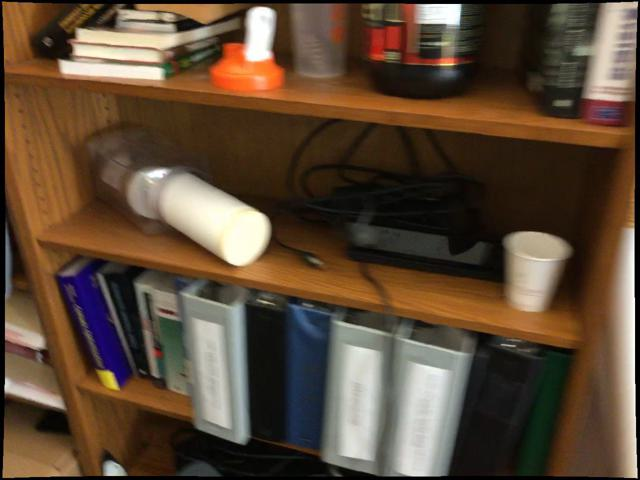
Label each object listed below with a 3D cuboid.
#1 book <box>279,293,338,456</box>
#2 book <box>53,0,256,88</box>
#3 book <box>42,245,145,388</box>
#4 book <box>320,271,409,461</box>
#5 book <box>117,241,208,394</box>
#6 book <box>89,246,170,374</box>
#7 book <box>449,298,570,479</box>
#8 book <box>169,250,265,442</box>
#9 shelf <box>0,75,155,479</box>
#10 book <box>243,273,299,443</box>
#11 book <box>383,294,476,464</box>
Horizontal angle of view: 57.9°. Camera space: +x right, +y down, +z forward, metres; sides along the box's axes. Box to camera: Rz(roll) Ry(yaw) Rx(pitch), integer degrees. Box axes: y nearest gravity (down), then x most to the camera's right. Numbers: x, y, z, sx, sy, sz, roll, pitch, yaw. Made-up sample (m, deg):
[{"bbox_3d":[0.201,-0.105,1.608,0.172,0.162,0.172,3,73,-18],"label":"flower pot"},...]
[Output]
[{"bbox_3d":[-0.020,0.230,0.960,0.080,0.300,0.050,8,32,11],"label":"book"},{"bbox_3d":[-0.250,-0.330,0.930,0.230,0.090,0.220,8,32,11],"label":"book"},{"bbox_3d":[-0.430,0.150,1.120,0.110,0.250,0.100,8,32,11],"label":"book"},{"bbox_3d":[0.070,0.210,0.950,0.110,0.290,0.110,8,32,11],"label":"book"},{"bbox_3d":[-0.290,0.150,1.090,0.110,0.280,0.080,8,32,11],"label":"book"},{"bbox_3d":[-0.370,0.140,1.140,0.090,0.240,0.080,8,32,11],"label":"book"},{"bbox_3d":[0.290,0.260,0.920,0.120,0.320,0.100,8,32,11],"label":"book"},{"bbox_3d":[-0.170,0.190,1.010,0.110,0.320,0.110,8,32,11],"label":"book"},{"bbox_3d":[-0.619,0.190,1.140,0.400,0.981,0.210,8,32,11],"label":"shelf"},{"bbox_3d":[-0.080,0.210,1.000,0.070,0.310,0.070,8,32,11],"label":"book"},{"bbox_3d":[0.170,0.220,0.910,0.110,0.240,0.100,8,32,11],"label":"book"}]
